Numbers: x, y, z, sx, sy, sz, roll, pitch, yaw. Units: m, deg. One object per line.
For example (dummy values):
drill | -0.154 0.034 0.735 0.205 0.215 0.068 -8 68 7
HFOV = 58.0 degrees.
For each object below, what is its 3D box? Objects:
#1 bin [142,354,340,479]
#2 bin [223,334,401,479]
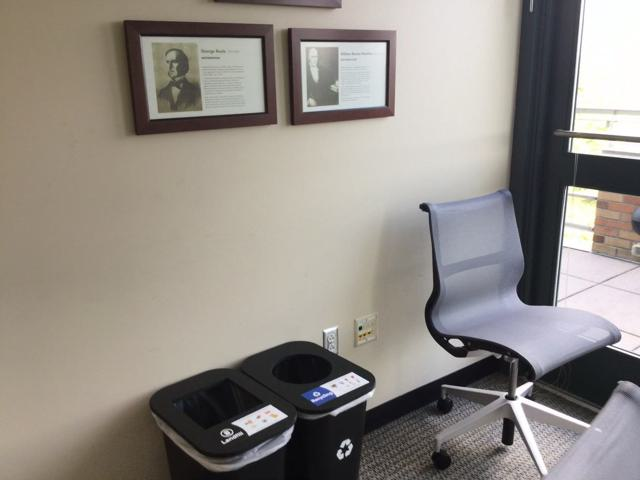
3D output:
bin | -0.220 0.700 1.700 0.380 0.520 0.430 -15 17 -34
bin | -0.020 0.650 1.840 0.360 0.520 0.400 -15 17 -34
